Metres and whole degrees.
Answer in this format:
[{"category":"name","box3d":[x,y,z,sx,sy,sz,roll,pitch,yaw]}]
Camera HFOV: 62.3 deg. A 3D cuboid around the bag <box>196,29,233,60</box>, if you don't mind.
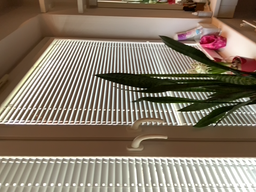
[{"category":"bag","box3d":[0.670,-0.410,1.670,0.220,0.160,0.180,-95,7,-60]}]
